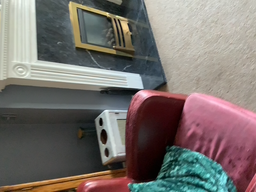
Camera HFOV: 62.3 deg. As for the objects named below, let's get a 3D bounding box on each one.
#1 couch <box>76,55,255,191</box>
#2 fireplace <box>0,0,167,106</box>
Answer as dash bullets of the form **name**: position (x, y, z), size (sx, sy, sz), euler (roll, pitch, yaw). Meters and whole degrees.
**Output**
- **couch**: position (0.330, 0.380, 1.010), size (0.760, 0.810, 0.860), euler (36, 115, 51)
- **fireplace**: position (-0.440, -0.690, 1.880), size (0.560, 1.180, 1.410), euler (-36, 58, 48)
